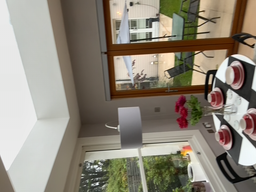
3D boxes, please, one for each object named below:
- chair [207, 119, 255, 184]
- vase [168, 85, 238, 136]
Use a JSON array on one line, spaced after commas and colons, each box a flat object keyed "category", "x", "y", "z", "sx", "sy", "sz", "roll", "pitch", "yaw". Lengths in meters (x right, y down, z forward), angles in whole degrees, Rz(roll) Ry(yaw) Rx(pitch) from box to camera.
[{"category": "chair", "x": 1.410, "y": 0.640, "z": 2.520, "sx": 0.490, "sy": 0.700, "sz": 0.510, "roll": -99, "pitch": 6, "yaw": -64}, {"category": "vase", "x": 0.730, "y": 0.140, "z": 2.170, "sx": 0.360, "sy": 0.540, "sz": 0.350, "roll": -99, "pitch": 6, "yaw": -63}]
